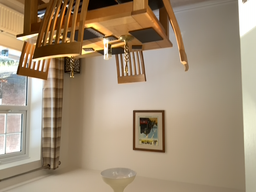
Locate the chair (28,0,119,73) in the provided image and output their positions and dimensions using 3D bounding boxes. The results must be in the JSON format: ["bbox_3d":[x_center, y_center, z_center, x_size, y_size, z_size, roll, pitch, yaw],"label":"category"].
[{"bbox_3d":[-0.410,-0.770,1.770,0.440,1.030,0.610,-2,176,24],"label":"chair"}]
